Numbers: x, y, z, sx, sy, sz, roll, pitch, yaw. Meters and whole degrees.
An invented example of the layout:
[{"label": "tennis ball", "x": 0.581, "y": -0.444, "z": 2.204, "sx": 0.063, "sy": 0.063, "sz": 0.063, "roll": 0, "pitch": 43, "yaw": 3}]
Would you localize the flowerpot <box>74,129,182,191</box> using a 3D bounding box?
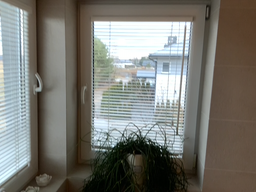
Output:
[{"label": "flowerpot", "x": 0.000, "y": 0.550, "z": 1.390, "sx": 0.630, "sy": 0.550, "sz": 0.260, "roll": 4, "pitch": 10, "yaw": 10}]
